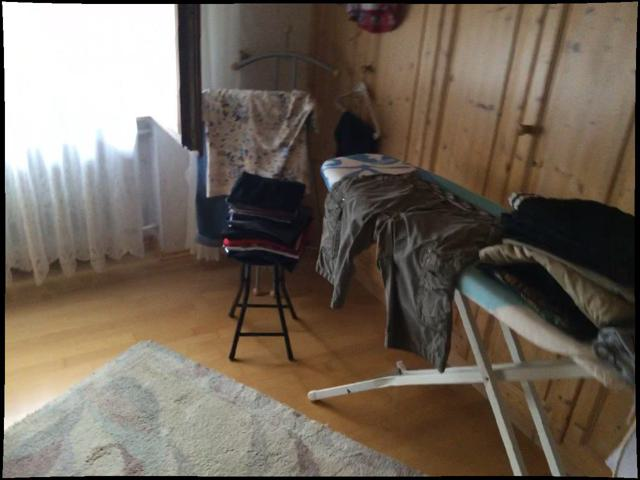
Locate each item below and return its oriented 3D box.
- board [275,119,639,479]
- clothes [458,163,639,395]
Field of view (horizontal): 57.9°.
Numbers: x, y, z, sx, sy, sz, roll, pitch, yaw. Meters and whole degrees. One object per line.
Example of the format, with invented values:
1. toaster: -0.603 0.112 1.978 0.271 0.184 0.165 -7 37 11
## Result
1. board: 0.400 0.320 1.630 0.480 0.901 1.430 -12 31 -26
2. clothes: 0.609 0.040 1.190 0.390 0.200 0.480 -12 32 -26
